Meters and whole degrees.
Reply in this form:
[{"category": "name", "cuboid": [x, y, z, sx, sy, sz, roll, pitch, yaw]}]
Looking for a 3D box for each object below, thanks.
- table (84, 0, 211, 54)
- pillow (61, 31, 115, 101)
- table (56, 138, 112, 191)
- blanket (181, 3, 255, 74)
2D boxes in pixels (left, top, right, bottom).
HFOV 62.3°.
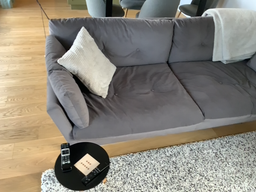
[{"category": "table", "cuboid": [0.190, -1.180, 3.070, 1.530, 0.760, 0.860, -5, 41, -15]}, {"category": "pillow", "cuboid": [-0.280, -0.210, 1.580, 0.170, 0.430, 0.360, -15, 1, 12]}, {"category": "table", "cuboid": [-0.270, 0.500, 1.290, 0.270, 0.370, 0.270, -6, 42, -16]}, {"category": "blanket", "cuboid": [0.950, -0.600, 2.170, 0.490, 0.480, 0.570, -5, 41, -14]}]
